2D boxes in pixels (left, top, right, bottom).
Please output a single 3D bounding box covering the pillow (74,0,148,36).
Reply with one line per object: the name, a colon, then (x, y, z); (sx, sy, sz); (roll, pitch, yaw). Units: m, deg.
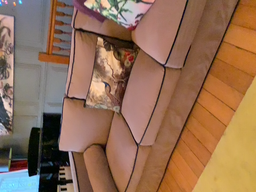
pillow: (-0.100, -0.590, 1.430); (0.420, 0.360, 0.110); (-31, 86, 43)
